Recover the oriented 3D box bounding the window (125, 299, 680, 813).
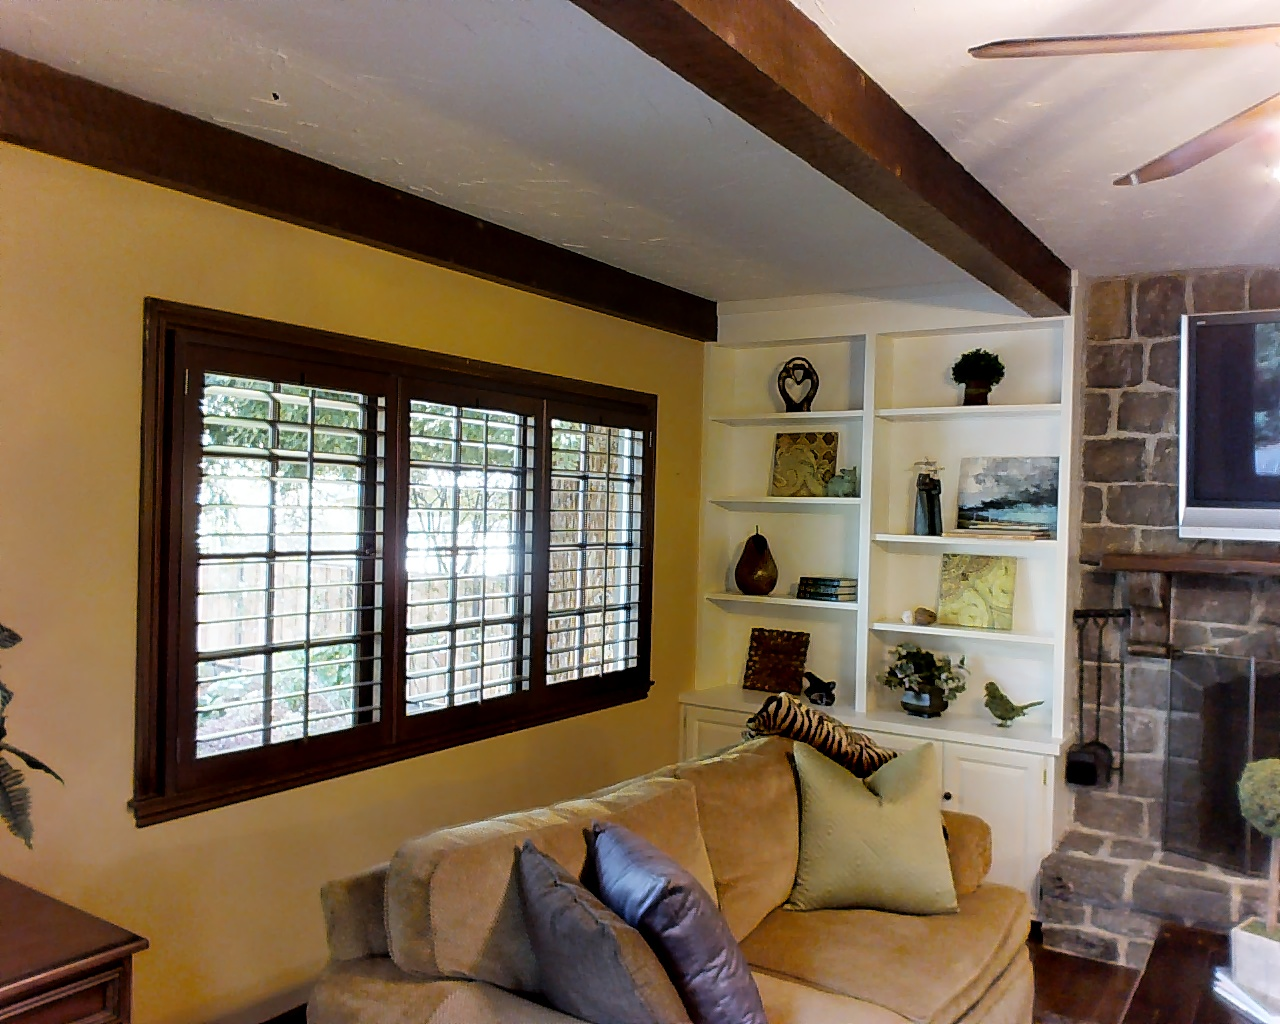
[{"bbox_3d":[-0.580,0.120,3.690,0.220,1.270,2.330,2,0,33],"label":"window"}]
